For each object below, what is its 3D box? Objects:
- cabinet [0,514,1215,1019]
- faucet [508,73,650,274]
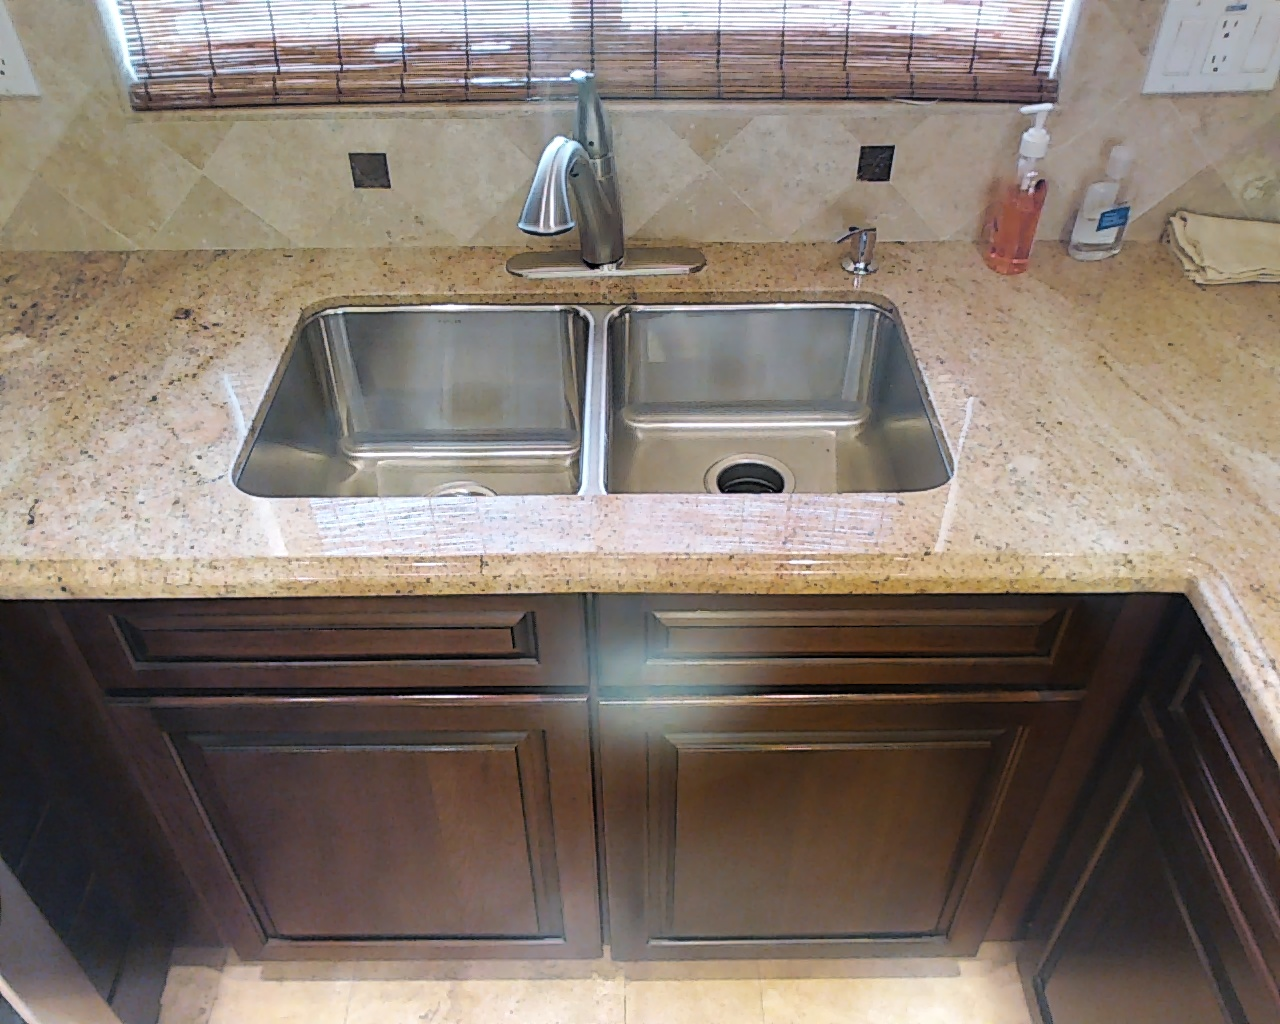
[{"bbox_3d":[-0.050,0.350,1.260,1.150,0.790,0.100,-2,42,-2],"label":"cabinet"},{"bbox_3d":[-0.070,-0.420,1.330,0.160,0.190,0.150,-1,42,-1],"label":"faucet"}]
